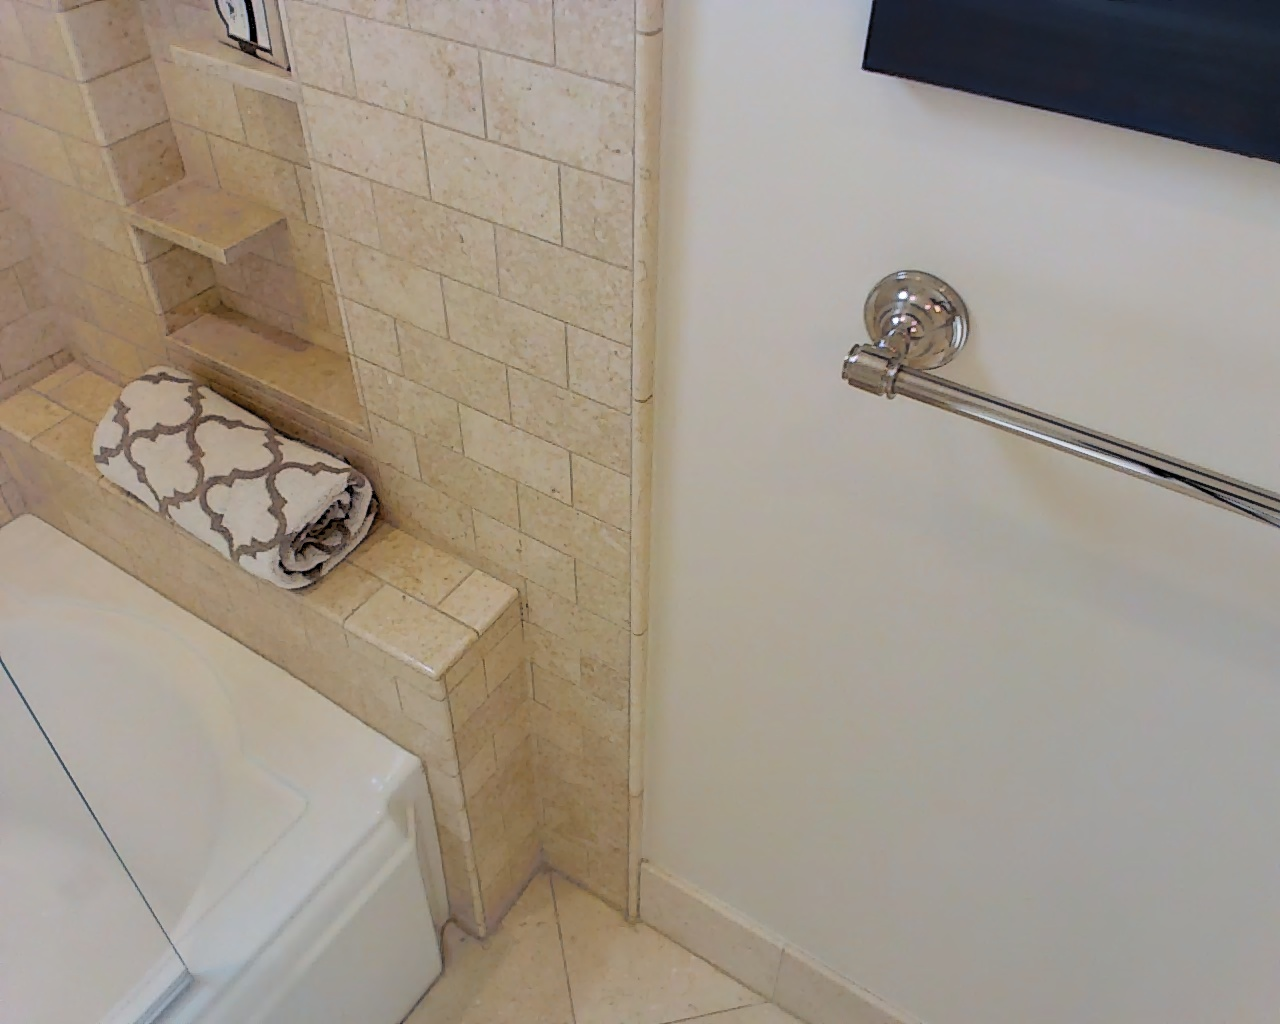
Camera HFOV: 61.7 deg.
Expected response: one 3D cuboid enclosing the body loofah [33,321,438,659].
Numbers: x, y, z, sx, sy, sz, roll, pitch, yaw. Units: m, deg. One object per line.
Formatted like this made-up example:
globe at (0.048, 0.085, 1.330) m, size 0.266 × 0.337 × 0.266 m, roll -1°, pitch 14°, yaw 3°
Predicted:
body loofah at (-0.480, -0.040, 1.290) m, size 0.420 × 0.190 × 0.200 m, roll 25°, pitch 47°, yaw 25°
